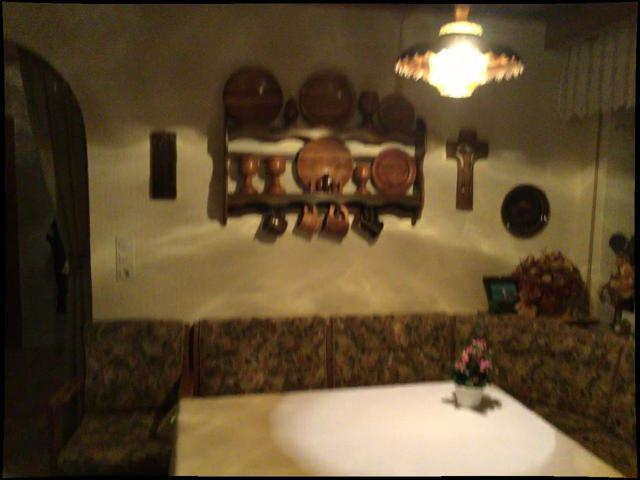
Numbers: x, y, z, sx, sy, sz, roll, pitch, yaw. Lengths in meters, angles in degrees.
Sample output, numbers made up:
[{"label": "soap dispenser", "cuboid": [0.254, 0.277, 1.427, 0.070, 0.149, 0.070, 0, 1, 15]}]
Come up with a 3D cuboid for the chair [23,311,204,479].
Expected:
[{"label": "chair", "cuboid": [-0.859, 0.821, 2.590, 0.649, 0.851, 0.630, 0, 8, -10]}]
